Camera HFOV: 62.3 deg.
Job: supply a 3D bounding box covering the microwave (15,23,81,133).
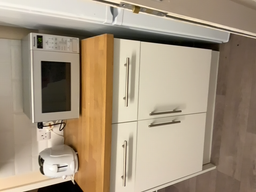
[{"bbox_3d":[-0.460,-0.100,1.190,0.380,0.260,0.500,10,101,56],"label":"microwave"}]
